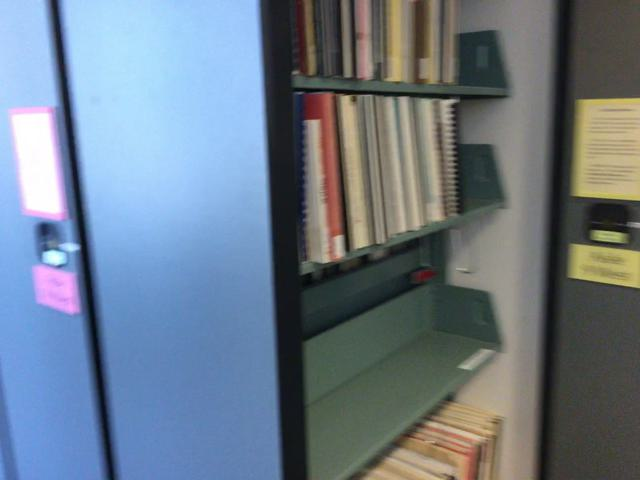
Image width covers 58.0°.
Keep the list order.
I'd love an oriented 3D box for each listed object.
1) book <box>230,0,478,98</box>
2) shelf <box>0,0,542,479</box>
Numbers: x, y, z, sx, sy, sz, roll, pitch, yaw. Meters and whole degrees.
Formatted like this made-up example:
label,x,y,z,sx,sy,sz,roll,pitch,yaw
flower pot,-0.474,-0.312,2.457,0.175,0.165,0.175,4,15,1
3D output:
label,x,y,z,sx,sy,sz,roll,pitch,yaw
book,0.100,-0.440,1.070,0.160,0.310,0.580,7,12,37
shelf,-0.020,-0.110,1.400,0.720,2.530,1.060,7,12,37
